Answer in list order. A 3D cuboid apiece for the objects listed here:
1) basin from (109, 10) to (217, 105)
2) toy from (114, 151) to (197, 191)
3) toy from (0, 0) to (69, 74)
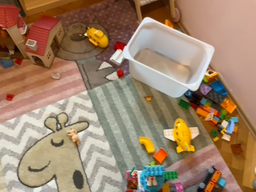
[{"bbox_3d":[0.190,-0.220,1.220,0.500,0.190,0.330,23,68,6],"label":"basin"},{"bbox_3d":[0.110,0.420,0.900,0.250,0.270,0.230,-29,72,-15],"label":"toy"},{"bbox_3d":[-0.620,-0.390,1.170,0.430,0.360,0.320,12,67,1],"label":"toy"}]
